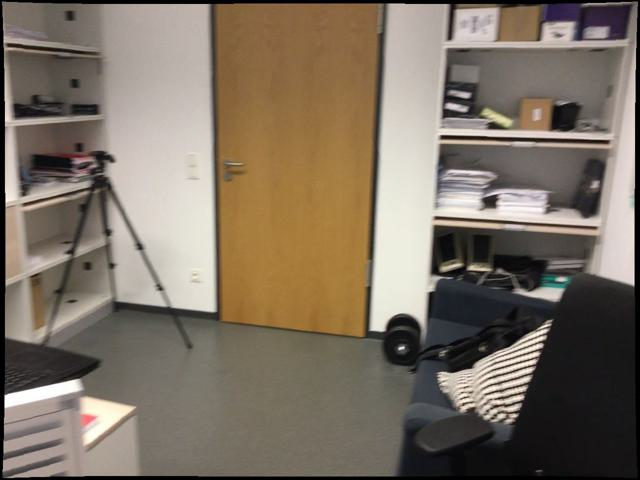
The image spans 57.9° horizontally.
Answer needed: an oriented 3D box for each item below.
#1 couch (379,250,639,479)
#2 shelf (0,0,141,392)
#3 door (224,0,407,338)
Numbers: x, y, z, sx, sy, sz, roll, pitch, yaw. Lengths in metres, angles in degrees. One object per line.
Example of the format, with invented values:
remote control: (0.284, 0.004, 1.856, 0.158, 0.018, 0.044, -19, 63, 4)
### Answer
couch: (0.759, 0.591, 2.230, 0.809, 0.651, 1.570, 5, 15, 15)
shelf: (-1.718, -0.440, 2.930, 0.569, 2.202, 1.730, 5, 15, 15)
door: (-0.040, -0.450, 3.370, 0.989, 2.022, 0.160, 5, 15, 15)
